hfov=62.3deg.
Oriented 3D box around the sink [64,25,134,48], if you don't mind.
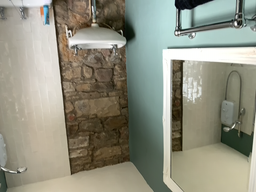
[{"bbox_3d":[-0.310,-0.610,2.200,0.640,0.200,0.410,-6,-166,-19],"label":"sink"}]
